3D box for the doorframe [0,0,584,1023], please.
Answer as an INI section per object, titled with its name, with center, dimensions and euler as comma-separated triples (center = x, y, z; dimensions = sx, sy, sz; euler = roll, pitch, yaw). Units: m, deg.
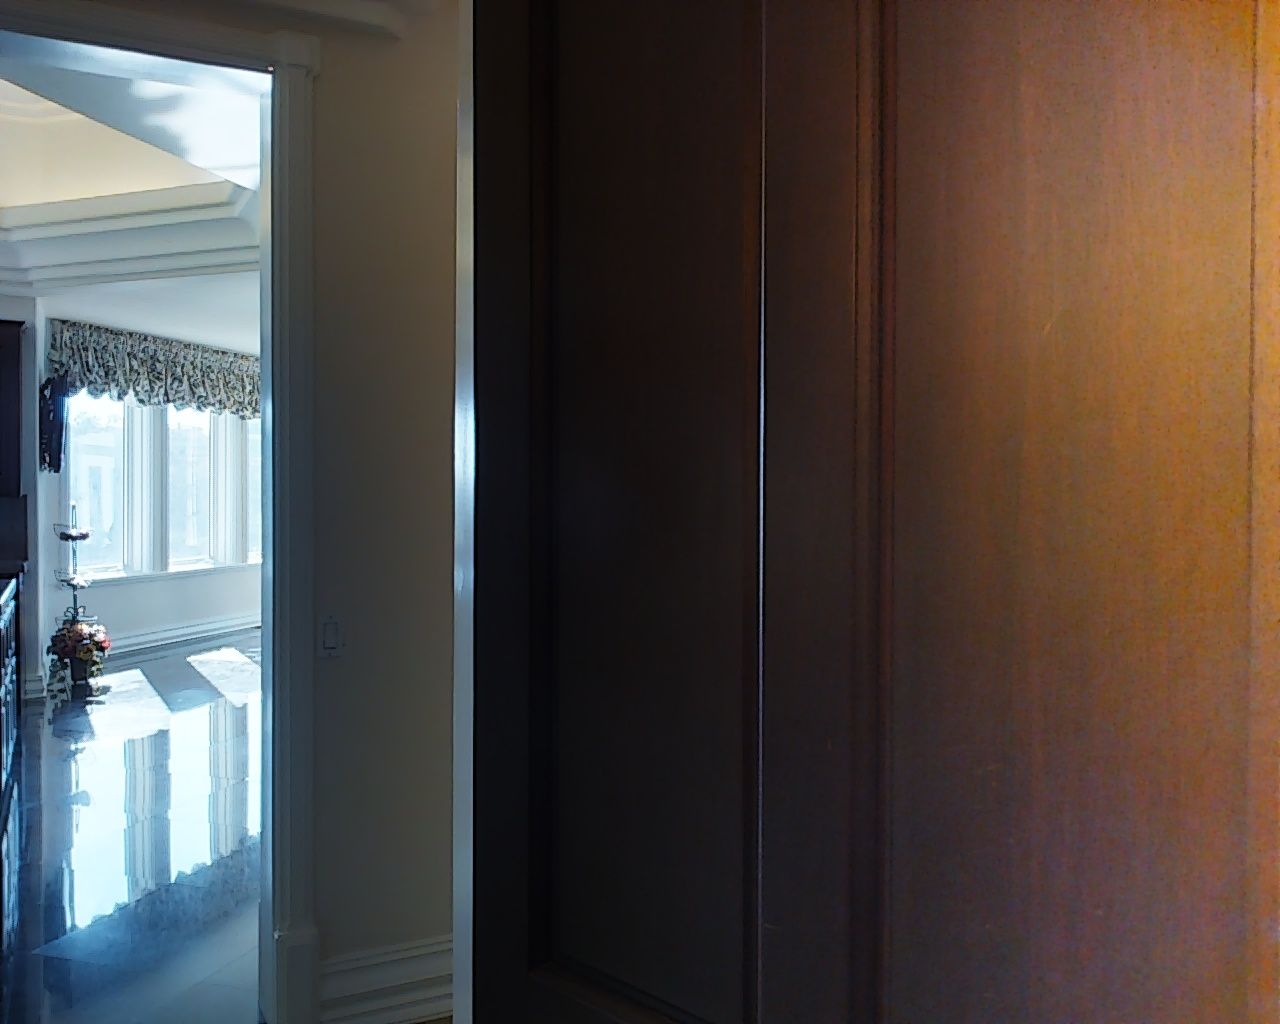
[doorframe]
center = -1.270, -0.100, 2.440
dimensions = 2.210, 2.830, 0.590
euler = 0, 1, -28
